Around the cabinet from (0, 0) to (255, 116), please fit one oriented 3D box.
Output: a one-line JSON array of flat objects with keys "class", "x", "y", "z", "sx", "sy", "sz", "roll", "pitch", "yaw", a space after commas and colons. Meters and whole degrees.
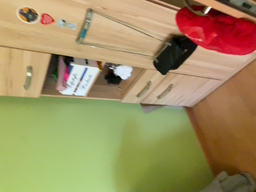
[{"class": "cabinet", "x": -0.160, "y": -0.310, "z": 1.260, "sx": 0.860, "sy": 1.980, "sz": 0.420, "roll": -53, "pitch": 43, "yaw": 43}]
